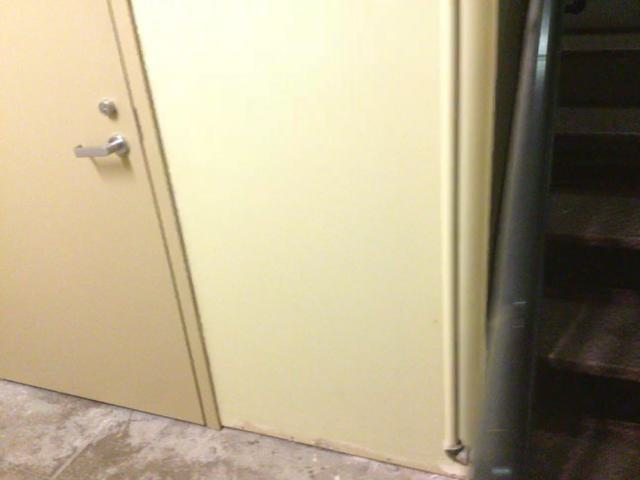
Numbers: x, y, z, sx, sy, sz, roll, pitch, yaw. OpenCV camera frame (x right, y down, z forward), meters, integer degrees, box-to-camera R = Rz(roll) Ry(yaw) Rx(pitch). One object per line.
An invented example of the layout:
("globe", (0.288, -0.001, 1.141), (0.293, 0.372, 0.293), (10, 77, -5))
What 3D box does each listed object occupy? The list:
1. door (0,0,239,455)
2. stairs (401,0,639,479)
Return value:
("door", (-0.810, -0.240, 1.620), (0.960, 1.950, 0.070), (5, 27, 20))
("stairs", (1.190, -0.030, 1.320), (1.580, 1.380, 1.950), (5, 27, 20))
